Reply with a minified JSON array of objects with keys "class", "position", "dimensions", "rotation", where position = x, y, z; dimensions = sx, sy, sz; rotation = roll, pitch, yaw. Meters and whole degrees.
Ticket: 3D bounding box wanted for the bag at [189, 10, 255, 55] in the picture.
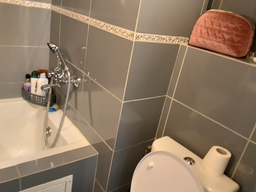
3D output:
[{"class":"bag","position":[0.390,-0.260,0.870],"dimensions":[0.130,0.130,0.200],"rotation":[-6,28,-36]}]
